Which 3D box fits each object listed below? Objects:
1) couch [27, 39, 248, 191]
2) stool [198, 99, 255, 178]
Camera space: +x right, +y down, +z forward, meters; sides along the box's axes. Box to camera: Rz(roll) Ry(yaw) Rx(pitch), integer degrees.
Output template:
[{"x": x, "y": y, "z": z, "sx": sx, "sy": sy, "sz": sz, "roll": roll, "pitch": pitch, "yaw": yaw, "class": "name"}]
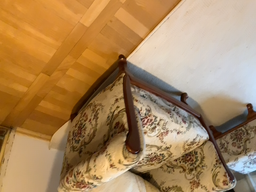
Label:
[{"x": 0.000, "y": 0.420, "z": 1.130, "sx": 0.740, "sy": 0.870, "sz": 0.820, "roll": 25, "pitch": 128, "yaw": -34, "class": "couch"}, {"x": 0.900, "y": 0.350, "z": 1.640, "sx": 0.420, "sy": 0.350, "sz": 0.440, "roll": 28, "pitch": 126, "yaw": -36, "class": "stool"}]
